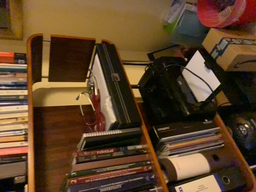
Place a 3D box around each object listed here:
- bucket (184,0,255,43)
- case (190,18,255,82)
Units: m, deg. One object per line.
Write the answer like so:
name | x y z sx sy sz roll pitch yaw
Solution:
bucket | 0.570 -0.510 1.170 0.290 0.320 0.290 116 144 -47
case | 0.580 -0.250 1.170 0.170 0.320 0.300 115 144 -46
